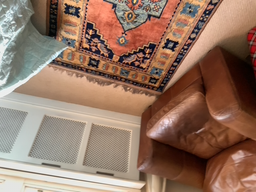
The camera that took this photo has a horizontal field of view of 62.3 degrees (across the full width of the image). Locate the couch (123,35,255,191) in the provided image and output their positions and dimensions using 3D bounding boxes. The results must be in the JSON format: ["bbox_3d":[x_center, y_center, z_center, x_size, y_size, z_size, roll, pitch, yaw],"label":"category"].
[{"bbox_3d":[0.670,0.370,1.640,1.010,0.840,1.020,22,137,-18],"label":"couch"}]
